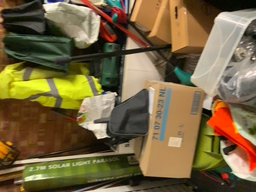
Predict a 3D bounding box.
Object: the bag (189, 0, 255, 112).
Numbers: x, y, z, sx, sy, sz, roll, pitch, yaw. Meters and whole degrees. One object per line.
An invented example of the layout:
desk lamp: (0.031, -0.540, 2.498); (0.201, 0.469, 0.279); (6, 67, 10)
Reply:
bag: (0.750, -0.190, 1.070); (0.480, 0.680, 0.530); (3, 90, 63)

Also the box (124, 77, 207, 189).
box: (0.250, 0.220, 1.510); (0.370, 0.370, 0.670); (13, 99, 63)

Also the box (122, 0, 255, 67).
box: (0.440, -0.540, 1.590); (0.490, 0.780, 0.550); (17, 102, 63)

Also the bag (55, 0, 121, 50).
bag: (-0.310, -0.710, 1.650); (0.320, 0.410, 0.610); (12, 97, 63)

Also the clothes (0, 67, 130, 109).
clothes: (-0.490, -0.060, 1.690); (0.440, 0.890, 0.240); (14, 100, 63)

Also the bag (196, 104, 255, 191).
bag: (0.700, 0.280, 1.170); (0.400, 0.440, 0.430); (4, 91, 63)
